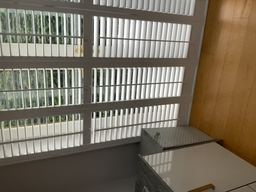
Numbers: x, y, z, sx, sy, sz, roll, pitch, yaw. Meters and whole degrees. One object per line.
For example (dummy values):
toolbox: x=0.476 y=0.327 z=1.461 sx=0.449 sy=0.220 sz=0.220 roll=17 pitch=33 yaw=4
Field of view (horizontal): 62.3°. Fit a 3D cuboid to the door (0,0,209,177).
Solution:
door: x=-0.270 y=-0.210 z=1.730 sx=0.080 sy=2.080 sz=1.650 roll=-143 pitch=54 yaw=-58
